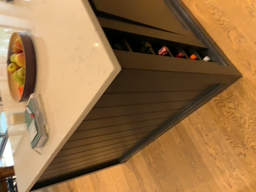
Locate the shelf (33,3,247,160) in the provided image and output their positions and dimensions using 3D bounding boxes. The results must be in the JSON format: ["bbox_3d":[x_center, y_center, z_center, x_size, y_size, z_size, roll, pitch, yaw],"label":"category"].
[{"bbox_3d":[0.090,-0.010,1.170,0.710,0.950,0.250,-47,59,39],"label":"shelf"}]

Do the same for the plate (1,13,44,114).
[{"bbox_3d":[-0.610,-0.170,1.190,0.380,0.070,0.400,-45,59,39],"label":"plate"}]
